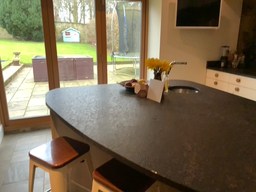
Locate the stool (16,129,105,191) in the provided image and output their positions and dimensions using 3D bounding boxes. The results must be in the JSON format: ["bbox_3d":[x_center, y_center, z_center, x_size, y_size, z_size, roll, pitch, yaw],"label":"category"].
[{"bbox_3d":[-0.440,0.660,1.510,0.350,0.660,0.440,10,18,29],"label":"stool"}]
